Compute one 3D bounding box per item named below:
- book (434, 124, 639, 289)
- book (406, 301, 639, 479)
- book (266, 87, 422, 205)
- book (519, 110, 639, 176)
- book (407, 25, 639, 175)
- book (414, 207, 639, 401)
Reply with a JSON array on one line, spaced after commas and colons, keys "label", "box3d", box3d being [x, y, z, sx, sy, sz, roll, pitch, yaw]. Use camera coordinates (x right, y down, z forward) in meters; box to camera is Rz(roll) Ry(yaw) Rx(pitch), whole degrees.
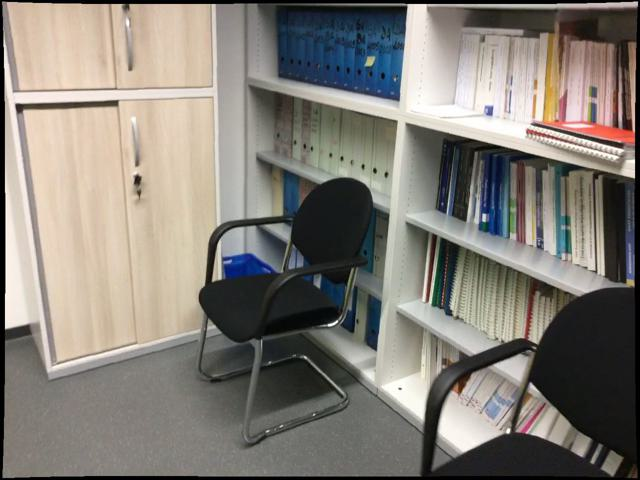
[{"label": "book", "box3d": [0.859, -0.110, 1.810, 0.270, 0.300, 1.100, -13, 26, -32]}, {"label": "book", "box3d": [0.679, 0.541, 2.060, 0.160, 0.280, 0.890, -13, 26, -32]}, {"label": "book", "box3d": [0.050, -0.460, 2.600, 0.060, 0.320, 1.070, -13, 26, -32]}, {"label": "book", "box3d": [0.759, -0.270, 1.550, 0.230, 0.090, 0.350, -13, 26, -32]}, {"label": "book", "box3d": [0.809, -0.410, 1.600, 0.420, 0.310, 1.180, -13, 26, -32]}, {"label": "book", "box3d": [0.719, 0.170, 2.010, 0.290, 0.320, 0.790, -13, 26, -32]}]
